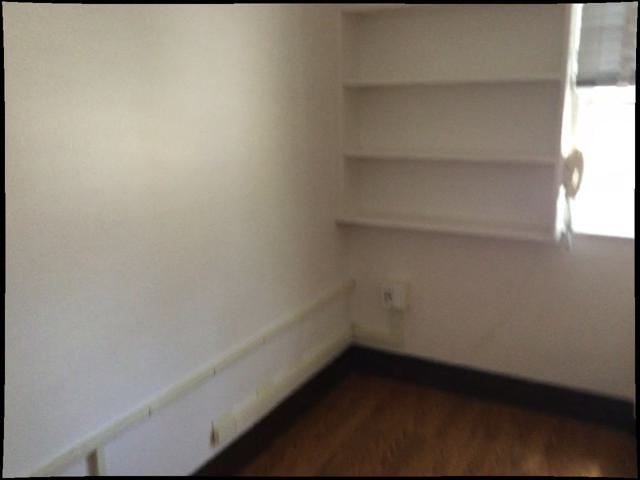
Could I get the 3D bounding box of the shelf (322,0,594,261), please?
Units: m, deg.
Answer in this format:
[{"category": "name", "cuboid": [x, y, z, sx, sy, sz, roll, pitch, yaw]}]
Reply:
[{"category": "shelf", "cuboid": [0.539, -0.801, 2.400, 1.029, 1.621, 0.320, 8, 19, 28]}]
